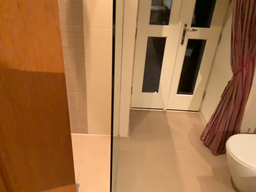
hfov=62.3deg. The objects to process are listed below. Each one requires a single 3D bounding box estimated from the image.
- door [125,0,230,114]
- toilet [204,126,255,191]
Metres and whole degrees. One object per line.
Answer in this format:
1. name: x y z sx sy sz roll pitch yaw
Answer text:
1. door: 0.480 -0.590 2.230 0.920 1.820 0.060 4 31 -2
2. toilet: 1.010 0.540 1.680 0.580 0.440 0.380 2 31 -4
